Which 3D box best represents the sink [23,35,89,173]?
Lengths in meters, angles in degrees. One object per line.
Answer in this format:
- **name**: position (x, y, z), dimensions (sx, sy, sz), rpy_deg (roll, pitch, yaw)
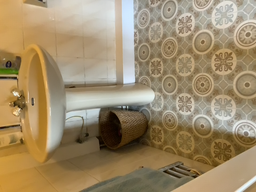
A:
- **sink**: position (-0.420, 0.030, 1.210), dimensions (0.390, 0.210, 0.650), rpy_deg (4, 96, 50)
